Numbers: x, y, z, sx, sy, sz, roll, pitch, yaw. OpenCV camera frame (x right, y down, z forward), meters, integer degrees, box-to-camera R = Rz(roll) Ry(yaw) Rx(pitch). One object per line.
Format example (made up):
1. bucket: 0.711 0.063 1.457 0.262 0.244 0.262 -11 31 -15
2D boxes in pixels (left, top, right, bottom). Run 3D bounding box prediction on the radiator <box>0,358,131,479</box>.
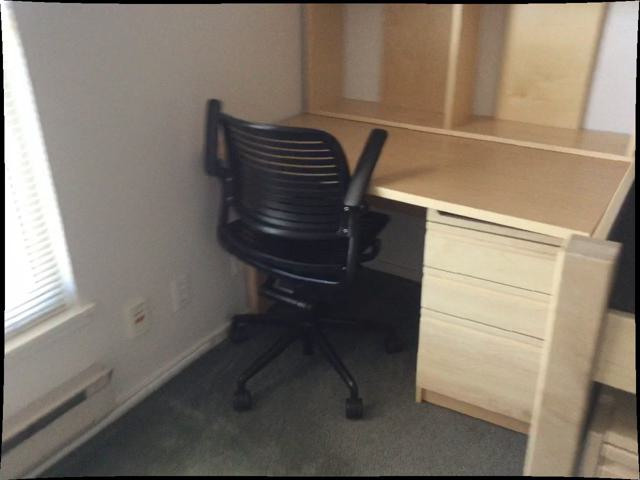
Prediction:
1. radiator: -0.909 0.671 1.440 0.070 0.250 1.010 15 29 29
